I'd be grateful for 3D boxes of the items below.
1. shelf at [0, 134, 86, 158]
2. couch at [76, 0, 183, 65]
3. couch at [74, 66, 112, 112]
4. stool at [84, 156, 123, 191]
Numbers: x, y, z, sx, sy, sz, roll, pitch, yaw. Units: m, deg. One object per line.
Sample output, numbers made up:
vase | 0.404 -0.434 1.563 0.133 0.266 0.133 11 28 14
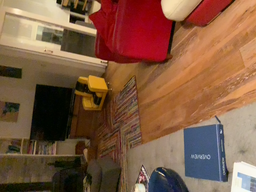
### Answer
shelf | -2.020 0.980 4.120 0.190 2.410 0.390 -43 45 54
couch | -0.010 -0.800 2.240 0.720 0.820 0.780 12 94 64
couch | -0.660 -0.110 3.890 0.630 0.480 0.490 -59 33 40
stool | -0.360 1.210 2.980 0.410 0.360 0.600 4 87 64
